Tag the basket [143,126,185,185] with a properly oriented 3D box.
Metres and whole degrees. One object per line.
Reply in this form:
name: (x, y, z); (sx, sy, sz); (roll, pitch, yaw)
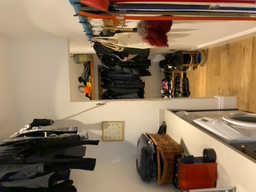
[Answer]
basket: (0.350, 0.590, 2.250); (0.630, 0.270, 0.360); (-127, 36, -79)
